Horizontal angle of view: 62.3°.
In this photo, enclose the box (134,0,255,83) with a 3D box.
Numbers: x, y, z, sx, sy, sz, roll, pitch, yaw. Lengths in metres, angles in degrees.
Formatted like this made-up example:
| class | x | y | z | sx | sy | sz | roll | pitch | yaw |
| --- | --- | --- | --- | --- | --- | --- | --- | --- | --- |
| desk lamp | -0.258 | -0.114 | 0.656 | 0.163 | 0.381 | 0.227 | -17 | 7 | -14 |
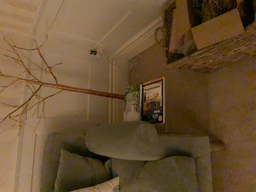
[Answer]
| class | x | y | z | sx | sy | sz | roll | pitch | yaw |
| --- | --- | --- | --- | --- | --- | --- | --- | --- | --- |
| box | 0.390 | -0.410 | 1.190 | 0.620 | 0.420 | 0.470 | -22 | 65 | 55 |
